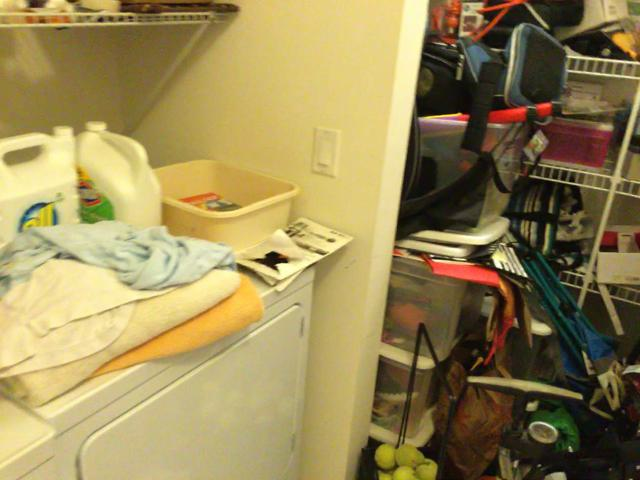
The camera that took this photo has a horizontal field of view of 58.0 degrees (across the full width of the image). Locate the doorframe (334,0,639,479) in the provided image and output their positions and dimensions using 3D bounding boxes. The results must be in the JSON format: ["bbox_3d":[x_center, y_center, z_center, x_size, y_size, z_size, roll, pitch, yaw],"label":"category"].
[{"bbox_3d":[0.510,-0.040,1.220,0.830,2.050,0.230,16,24,28],"label":"doorframe"}]
